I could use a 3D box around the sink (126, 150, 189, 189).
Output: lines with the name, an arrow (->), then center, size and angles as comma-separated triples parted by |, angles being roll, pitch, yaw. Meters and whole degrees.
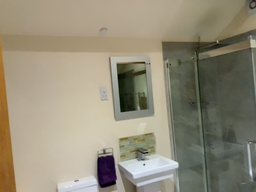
sink -> 0.310, 0.780, 2.320 | 0.540, 0.180, 0.420 | -5, 1, -19
